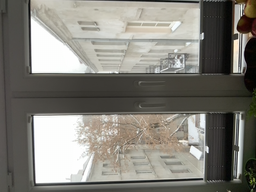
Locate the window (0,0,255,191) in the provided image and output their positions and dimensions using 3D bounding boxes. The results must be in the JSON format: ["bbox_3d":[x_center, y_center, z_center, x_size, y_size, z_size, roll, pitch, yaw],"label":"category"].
[{"bbox_3d":[-0.280,-0.040,1.010,0.170,1.790,1.190,-123,33,-82],"label":"window"}]
